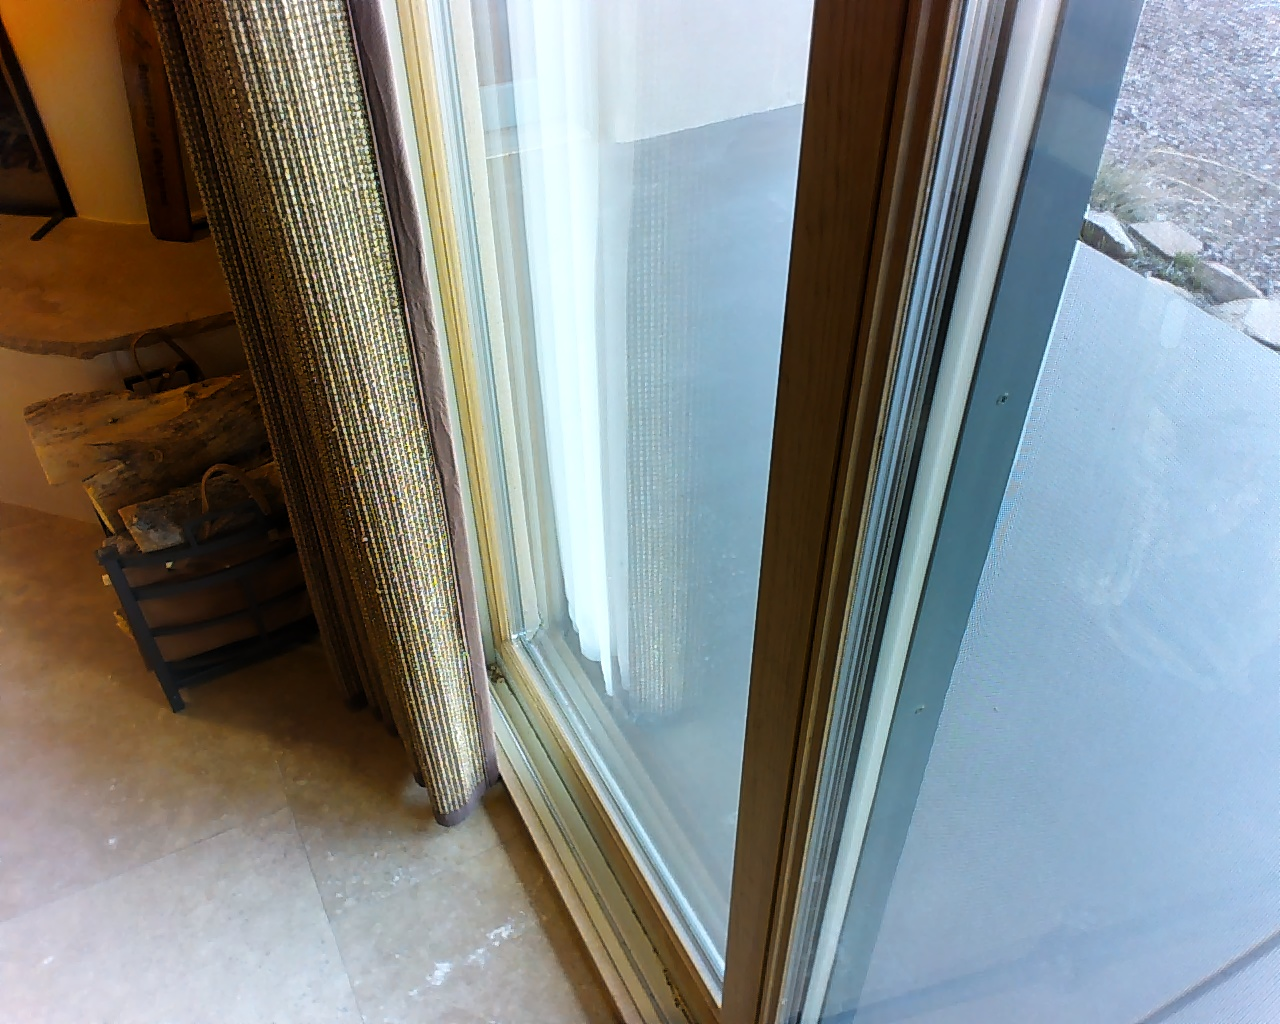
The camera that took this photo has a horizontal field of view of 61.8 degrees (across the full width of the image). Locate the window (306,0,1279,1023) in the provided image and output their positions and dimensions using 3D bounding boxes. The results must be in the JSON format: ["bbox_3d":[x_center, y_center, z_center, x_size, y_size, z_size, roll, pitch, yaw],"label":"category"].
[{"bbox_3d":[0.120,-0.020,0.700,0.220,1.960,1.470,-20,46,-21],"label":"window"}]
